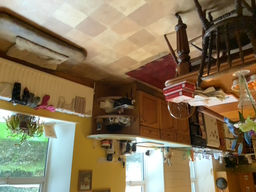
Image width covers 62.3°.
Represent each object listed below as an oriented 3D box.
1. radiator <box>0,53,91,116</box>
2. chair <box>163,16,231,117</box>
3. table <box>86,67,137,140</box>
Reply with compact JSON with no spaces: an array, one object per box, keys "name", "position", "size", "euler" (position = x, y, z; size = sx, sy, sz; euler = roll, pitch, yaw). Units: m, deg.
[{"name":"radiator","position":[-1.120,-0.120,2.720],"size":[0.130,0.480,1.480],"euler":[-17,155,40]},{"name":"chair","position":[0.670,-0.270,2.150],"size":[0.480,0.850,0.300],"euler":[-18,155,41]},{"name":"table","position":[-0.250,0.150,3.280],"size":[0.600,0.940,0.480],"euler":[-18,154,42]}]
